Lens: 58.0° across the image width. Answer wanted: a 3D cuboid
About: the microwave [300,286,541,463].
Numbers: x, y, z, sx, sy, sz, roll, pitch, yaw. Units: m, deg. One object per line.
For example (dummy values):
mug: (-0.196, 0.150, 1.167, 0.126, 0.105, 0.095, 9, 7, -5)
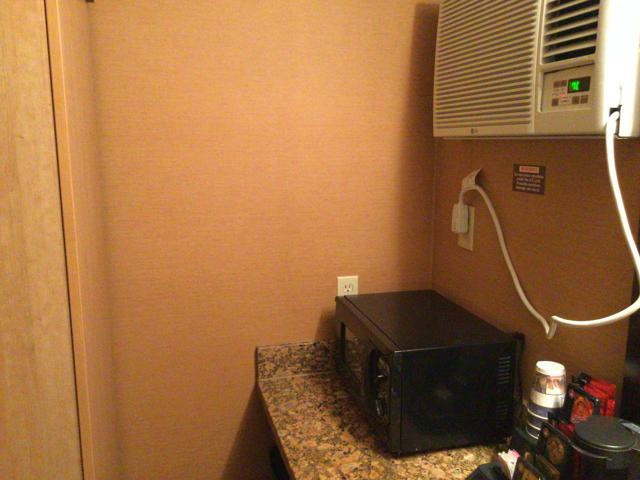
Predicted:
microwave: (0.230, 0.320, 1.550, 0.380, 0.270, 0.540, 4, 7, -22)
